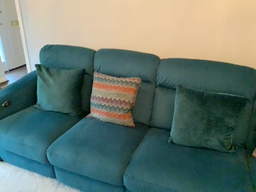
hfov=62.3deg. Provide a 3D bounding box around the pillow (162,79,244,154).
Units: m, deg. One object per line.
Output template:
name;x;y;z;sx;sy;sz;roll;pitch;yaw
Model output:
pillow;0.520;0.150;1.480;0.450;0.410;0.250;-8;20;21

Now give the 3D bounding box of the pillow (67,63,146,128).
pillow;-0.170;0.010;1.740;0.500;0.400;0.180;-13;18;24

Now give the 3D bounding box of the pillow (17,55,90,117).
pillow;-0.680;-0.080;1.930;0.540;0.360;0.160;-23;14;26

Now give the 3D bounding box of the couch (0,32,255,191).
couch;0.210;0.200;1.690;3.180;0.960;1.070;10;26;17
